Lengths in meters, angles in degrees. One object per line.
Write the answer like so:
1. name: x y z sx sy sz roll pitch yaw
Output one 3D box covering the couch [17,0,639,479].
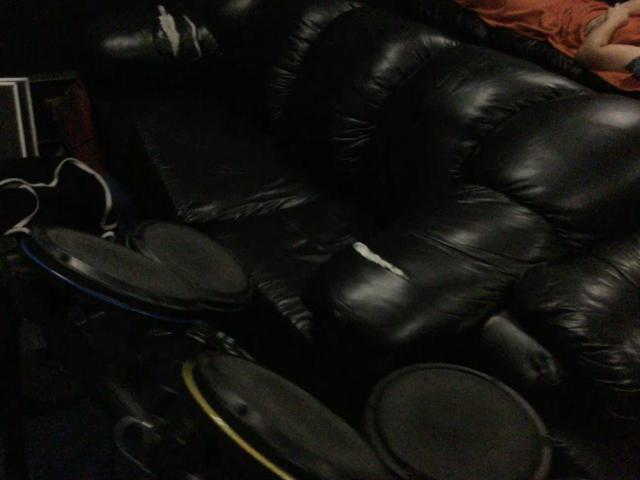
1. couch: -0.170 -0.330 2.030 1.170 0.990 2.250 -14 35 -30
